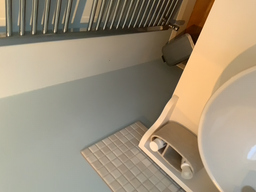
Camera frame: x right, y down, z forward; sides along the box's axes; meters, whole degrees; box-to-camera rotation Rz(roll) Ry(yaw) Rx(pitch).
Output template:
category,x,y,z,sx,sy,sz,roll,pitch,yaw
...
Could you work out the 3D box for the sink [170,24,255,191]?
category,x,y,z,sx,sy,sz,roll,pitch,yaw
sink,0.370,0.130,0.490,0.400,0.140,0.450,38,129,29
